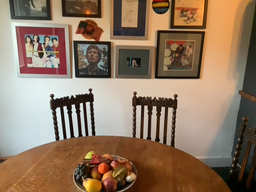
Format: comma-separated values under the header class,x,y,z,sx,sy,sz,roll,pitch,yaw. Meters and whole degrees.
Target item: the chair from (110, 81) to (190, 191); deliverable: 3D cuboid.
class,x,y,z,sx,sy,sz,roll,pitch,yaw
chair,0.160,0.450,1.860,0.430,1.040,0.490,-12,21,-38
